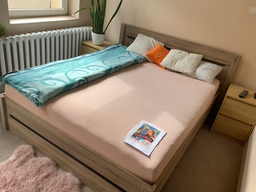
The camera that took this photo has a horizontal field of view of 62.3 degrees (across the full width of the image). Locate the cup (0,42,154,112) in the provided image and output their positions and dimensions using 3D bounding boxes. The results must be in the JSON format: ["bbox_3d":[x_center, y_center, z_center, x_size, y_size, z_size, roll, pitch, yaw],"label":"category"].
[{"bbox_3d":[-0.420,-0.360,2.470,0.680,0.140,1.840,24,31,25],"label":"cup"}]

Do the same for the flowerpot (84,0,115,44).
[{"bbox_3d":[-0.440,-1.210,3.230,0.280,0.740,0.330,24,31,25],"label":"flowerpot"}]

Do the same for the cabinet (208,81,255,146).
[{"bbox_3d":[1.350,0.190,2.640,0.420,0.510,0.540,24,31,25],"label":"cabinet"}]
